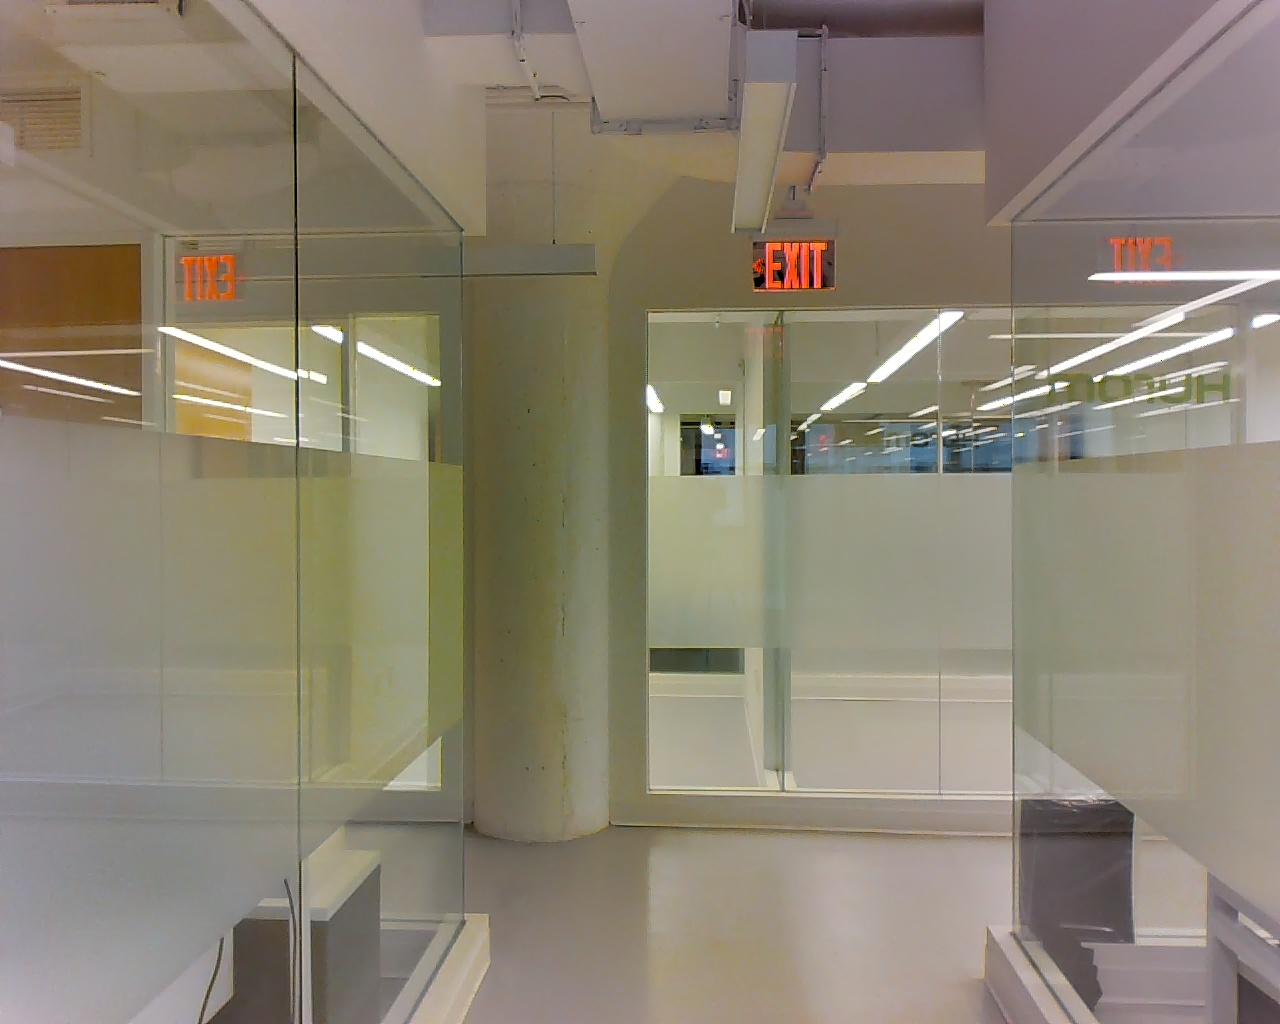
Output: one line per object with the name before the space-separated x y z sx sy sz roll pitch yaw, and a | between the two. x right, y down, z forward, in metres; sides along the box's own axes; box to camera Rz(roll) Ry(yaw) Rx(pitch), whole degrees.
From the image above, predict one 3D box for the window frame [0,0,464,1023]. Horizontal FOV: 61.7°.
window frame | -0.670 0.280 2.030 0.110 2.301 2.460 0 1 4
